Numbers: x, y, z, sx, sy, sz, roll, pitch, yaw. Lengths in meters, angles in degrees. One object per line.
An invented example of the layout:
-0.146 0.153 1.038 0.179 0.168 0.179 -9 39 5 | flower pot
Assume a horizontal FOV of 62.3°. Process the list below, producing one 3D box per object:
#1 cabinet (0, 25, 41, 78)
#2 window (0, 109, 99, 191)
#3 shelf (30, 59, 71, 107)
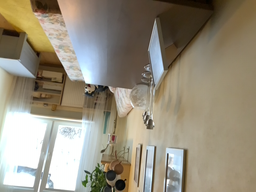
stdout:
-1.720 -0.640 3.250 0.420 0.450 0.880 8 167 -5 | cabinet
-1.390 1.070 3.760 1.530 1.470 0.280 7 167 -3 | window
-1.460 -0.240 4.040 0.560 0.810 0.250 7 167 -4 | shelf
